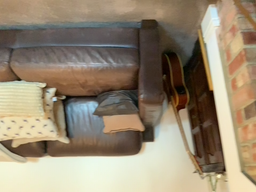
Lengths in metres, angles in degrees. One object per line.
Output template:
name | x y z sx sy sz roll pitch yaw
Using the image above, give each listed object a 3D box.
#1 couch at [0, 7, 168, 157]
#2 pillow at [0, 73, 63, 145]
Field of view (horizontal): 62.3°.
couch | -0.730 0.020 1.720 1.900 0.850 0.990 -2 161 2
pillow | -0.740 0.120 1.530 0.370 0.410 0.440 -1 161 0
